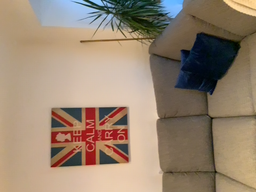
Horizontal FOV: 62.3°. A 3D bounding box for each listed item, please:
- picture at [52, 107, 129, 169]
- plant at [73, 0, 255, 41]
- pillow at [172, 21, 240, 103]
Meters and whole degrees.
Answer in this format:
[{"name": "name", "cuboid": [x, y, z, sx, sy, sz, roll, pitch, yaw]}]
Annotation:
[{"name": "picture", "cuboid": [-0.390, 0.430, 2.240, 0.040, 0.780, 0.600, 144, 125, -78]}, {"name": "plant", "cuboid": [0.390, -0.820, 2.010, 0.340, 1.740, 0.430, 146, 123, -78]}, {"name": "pillow", "cuboid": [0.640, -0.280, 1.860, 0.590, 0.360, 0.270, 85, 163, -48]}]
